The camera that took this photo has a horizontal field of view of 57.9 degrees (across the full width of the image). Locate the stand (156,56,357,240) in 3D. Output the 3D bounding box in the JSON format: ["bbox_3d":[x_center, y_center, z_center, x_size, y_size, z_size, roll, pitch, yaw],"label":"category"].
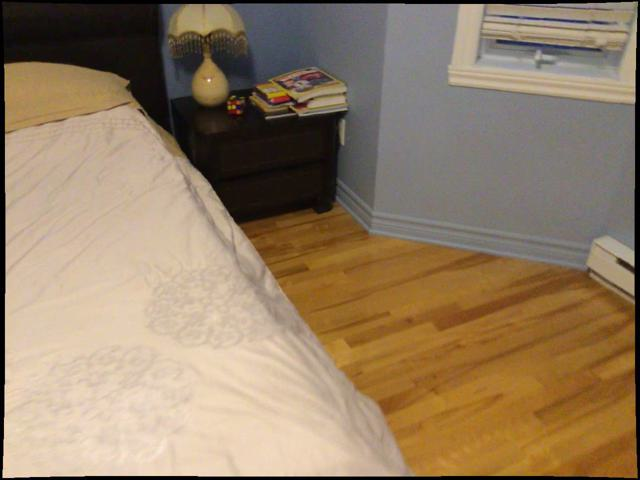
[{"bbox_3d":[-0.270,-0.430,2.530,0.689,0.510,0.520,-16,37,-21],"label":"stand"}]

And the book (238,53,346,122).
[{"bbox_3d":[-0.130,-0.671,2.500,0.310,0.120,0.440,-16,37,-21],"label":"book"}]
